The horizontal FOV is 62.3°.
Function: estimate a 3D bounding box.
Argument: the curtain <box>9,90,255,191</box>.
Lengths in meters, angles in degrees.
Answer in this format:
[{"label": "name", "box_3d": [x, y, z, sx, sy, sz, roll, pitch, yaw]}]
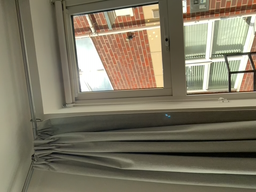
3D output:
[{"label": "curtain", "box_3d": [0.670, 0.150, 0.700, 0.150, 2.370, 0.350, 21, -114, -76]}]
